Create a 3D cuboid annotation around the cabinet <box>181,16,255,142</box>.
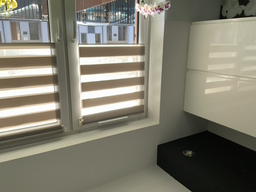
[{"bbox_3d":[0.900,-0.160,1.610,0.390,0.800,0.890,-8,-163,-30],"label":"cabinet"}]
